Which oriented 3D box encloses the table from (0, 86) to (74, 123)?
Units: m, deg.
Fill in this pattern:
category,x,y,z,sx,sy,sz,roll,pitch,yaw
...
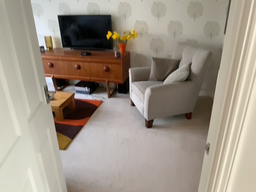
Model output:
category,x,y,z,sx,sy,sz,roll,pitch,yaw
table,-1.290,0.100,3.020,0.890,0.260,0.450,6,27,14
